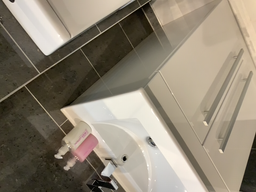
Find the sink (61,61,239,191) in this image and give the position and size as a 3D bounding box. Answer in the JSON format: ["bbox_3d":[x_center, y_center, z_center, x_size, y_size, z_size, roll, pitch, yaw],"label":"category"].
[{"bbox_3d":[0.080,0.220,0.820,0.460,0.150,0.610,-12,118,48],"label":"sink"}]
